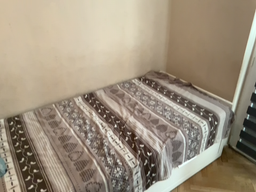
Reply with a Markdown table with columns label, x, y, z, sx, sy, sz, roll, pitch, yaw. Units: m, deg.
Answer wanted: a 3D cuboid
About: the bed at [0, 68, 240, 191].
| label | x | y | z | sx | sy | sz | roll | pitch | yaw |
| --- | --- | --- | --- | --- | --- | --- | --- | --- | --- |
| bed | -0.200 | 0.420 | 1.710 | 2.130 | 0.570 | 0.930 | -20 | 35 | -30 |
